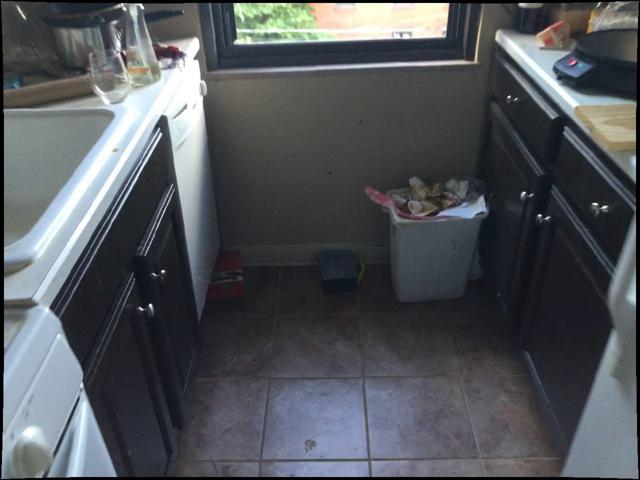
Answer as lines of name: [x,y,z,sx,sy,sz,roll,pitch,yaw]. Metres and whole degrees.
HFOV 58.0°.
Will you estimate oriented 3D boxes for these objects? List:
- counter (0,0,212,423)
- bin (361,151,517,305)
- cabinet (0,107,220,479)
counter: [-0.688,-0.251,1.290,0.668,0.300,1.361,-3,37,1]
bin: [0.389,-0.040,2.030,0.459,0.421,0.290,-4,36,1]
cabinet: [-0.668,0.251,1.360,0.648,0.841,0.721,-3,36,1]
